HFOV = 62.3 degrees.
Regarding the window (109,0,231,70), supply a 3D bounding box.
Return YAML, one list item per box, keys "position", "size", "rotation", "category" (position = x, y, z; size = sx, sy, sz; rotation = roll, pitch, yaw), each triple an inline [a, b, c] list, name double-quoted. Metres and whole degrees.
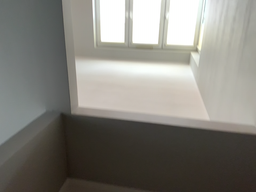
- position: [0.830, -1.650, 4.900]
  size: [2.660, 1.810, 0.200]
  rotation: [8, -160, 16]
  category: "window"
